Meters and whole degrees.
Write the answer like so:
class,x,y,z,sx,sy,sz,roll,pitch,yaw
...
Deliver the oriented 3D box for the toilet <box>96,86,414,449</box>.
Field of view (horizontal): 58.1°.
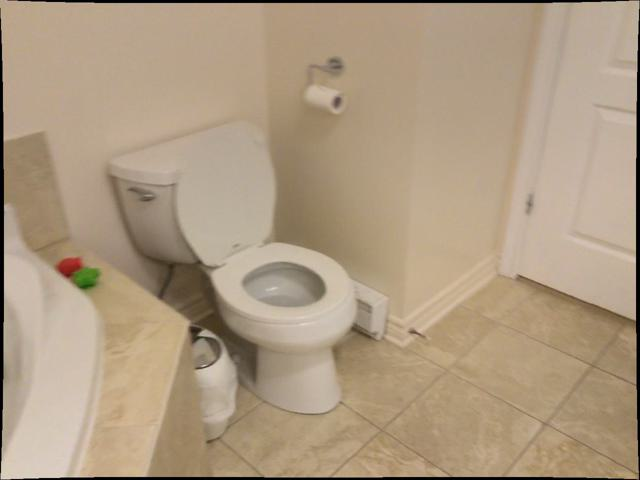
class,x,y,z,sx,sy,sz,roll,pitch,yaw
toilet,-0.180,0.030,1.730,0.710,0.740,0.500,25,40,36
